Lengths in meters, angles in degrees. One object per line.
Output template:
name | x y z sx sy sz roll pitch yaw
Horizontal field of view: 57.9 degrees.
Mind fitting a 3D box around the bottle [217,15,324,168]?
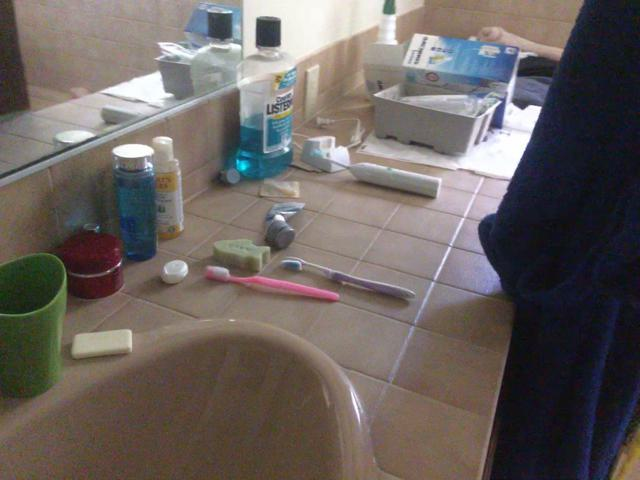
bottle | -0.080 -0.270 1.030 0.110 0.220 0.180 12 31 19
